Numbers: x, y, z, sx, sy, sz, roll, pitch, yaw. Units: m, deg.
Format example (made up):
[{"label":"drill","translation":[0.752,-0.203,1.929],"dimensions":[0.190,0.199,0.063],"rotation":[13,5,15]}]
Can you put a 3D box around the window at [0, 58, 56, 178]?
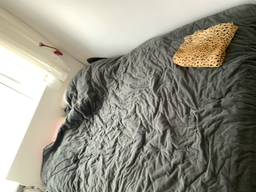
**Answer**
[{"label":"window","translation":[-1.630,0.040,2.090],"dimensions":[0.180,1.590,1.110],"rotation":[-15,52,41]}]
